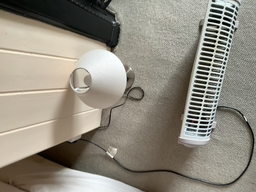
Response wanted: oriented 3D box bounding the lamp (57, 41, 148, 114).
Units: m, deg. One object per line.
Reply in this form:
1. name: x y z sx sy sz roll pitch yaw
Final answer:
1. lamp: -0.080 -0.090 0.970 0.210 0.460 0.240 7 98 20

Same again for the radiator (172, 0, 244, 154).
1. radiator: 0.330 -0.100 0.890 0.140 0.380 0.550 11 99 19
